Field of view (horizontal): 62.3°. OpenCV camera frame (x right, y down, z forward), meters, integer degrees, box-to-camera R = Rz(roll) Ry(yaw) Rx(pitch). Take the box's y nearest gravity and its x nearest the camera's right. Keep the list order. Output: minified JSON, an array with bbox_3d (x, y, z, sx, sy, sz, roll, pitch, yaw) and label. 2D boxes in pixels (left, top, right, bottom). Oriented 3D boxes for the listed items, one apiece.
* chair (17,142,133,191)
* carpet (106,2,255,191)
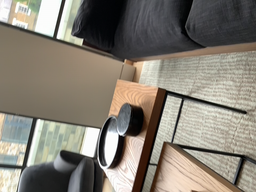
[{"bbox_3d":[-0.490,0.860,1.760,0.750,0.800,0.710,-41,42,54],"label":"chair"},{"bbox_3d":[0.410,0.460,0.900,2.520,0.030,1.800,10,87,67],"label":"carpet"}]
